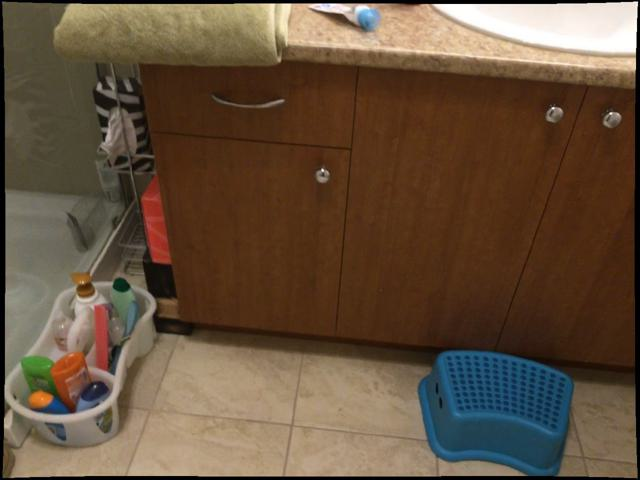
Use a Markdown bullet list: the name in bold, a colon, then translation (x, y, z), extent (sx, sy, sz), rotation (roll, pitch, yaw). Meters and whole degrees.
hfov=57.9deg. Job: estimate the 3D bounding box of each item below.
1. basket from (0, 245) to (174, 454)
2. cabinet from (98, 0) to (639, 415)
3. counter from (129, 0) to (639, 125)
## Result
- **basket**: translation (-0.529, 0.240, 1.350), extent (0.240, 0.240, 0.410), rotation (3, 40, 2)
- **cabinet**: translation (0.450, -0.080, 1.350), extent (1.578, 0.810, 0.540), rotation (3, 40, 2)
- **counter**: translation (0.490, -0.470, 1.110), extent (1.528, 0.240, 0.580), rotation (3, 40, 2)
